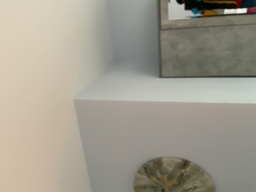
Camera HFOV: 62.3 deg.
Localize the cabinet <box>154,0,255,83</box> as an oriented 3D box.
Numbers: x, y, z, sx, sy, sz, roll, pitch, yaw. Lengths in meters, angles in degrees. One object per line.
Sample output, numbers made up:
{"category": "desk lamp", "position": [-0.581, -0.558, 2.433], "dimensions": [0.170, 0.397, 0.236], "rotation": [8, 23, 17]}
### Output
{"category": "cabinet", "position": [1.170, -0.560, 1.630], "dimensions": [0.540, 1.850, 0.770], "rotation": [-61, -31, -61]}
